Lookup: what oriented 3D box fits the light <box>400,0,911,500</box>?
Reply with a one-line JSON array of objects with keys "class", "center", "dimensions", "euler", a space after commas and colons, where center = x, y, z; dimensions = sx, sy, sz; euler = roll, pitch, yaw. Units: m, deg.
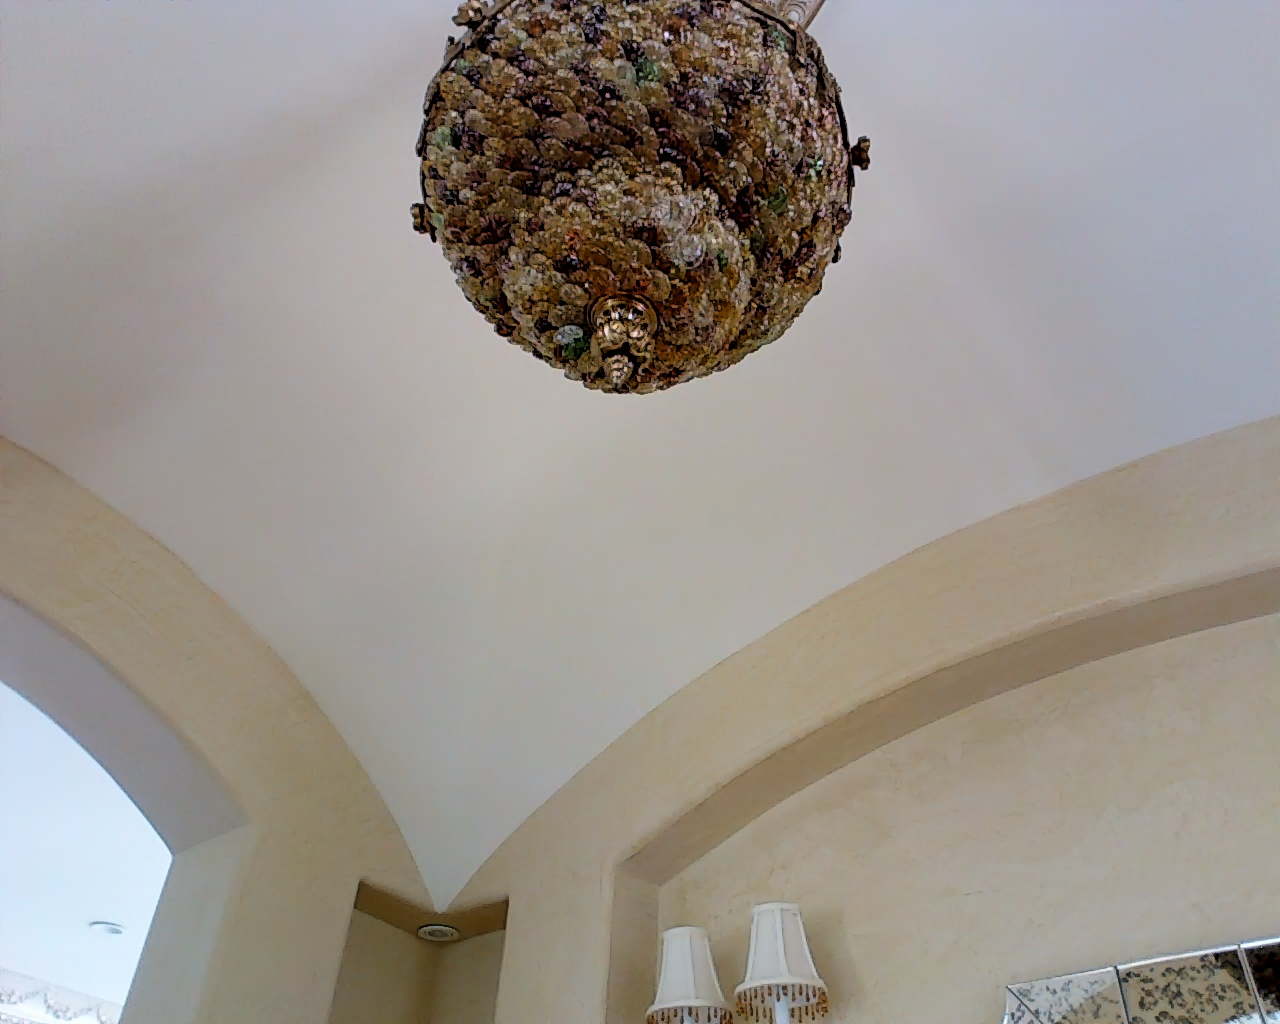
[{"class": "light", "center": [0.000, -0.260, 0.920], "dimensions": [0.330, 0.320, 0.340], "euler": [7, -41, -3]}]
